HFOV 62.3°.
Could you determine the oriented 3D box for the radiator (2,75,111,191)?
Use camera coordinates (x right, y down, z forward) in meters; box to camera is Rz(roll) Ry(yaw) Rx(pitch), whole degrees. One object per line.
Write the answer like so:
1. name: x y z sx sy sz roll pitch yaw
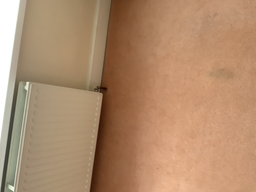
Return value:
1. radiator: -0.430 0.510 1.360 0.130 0.660 1.180 5 88 32
